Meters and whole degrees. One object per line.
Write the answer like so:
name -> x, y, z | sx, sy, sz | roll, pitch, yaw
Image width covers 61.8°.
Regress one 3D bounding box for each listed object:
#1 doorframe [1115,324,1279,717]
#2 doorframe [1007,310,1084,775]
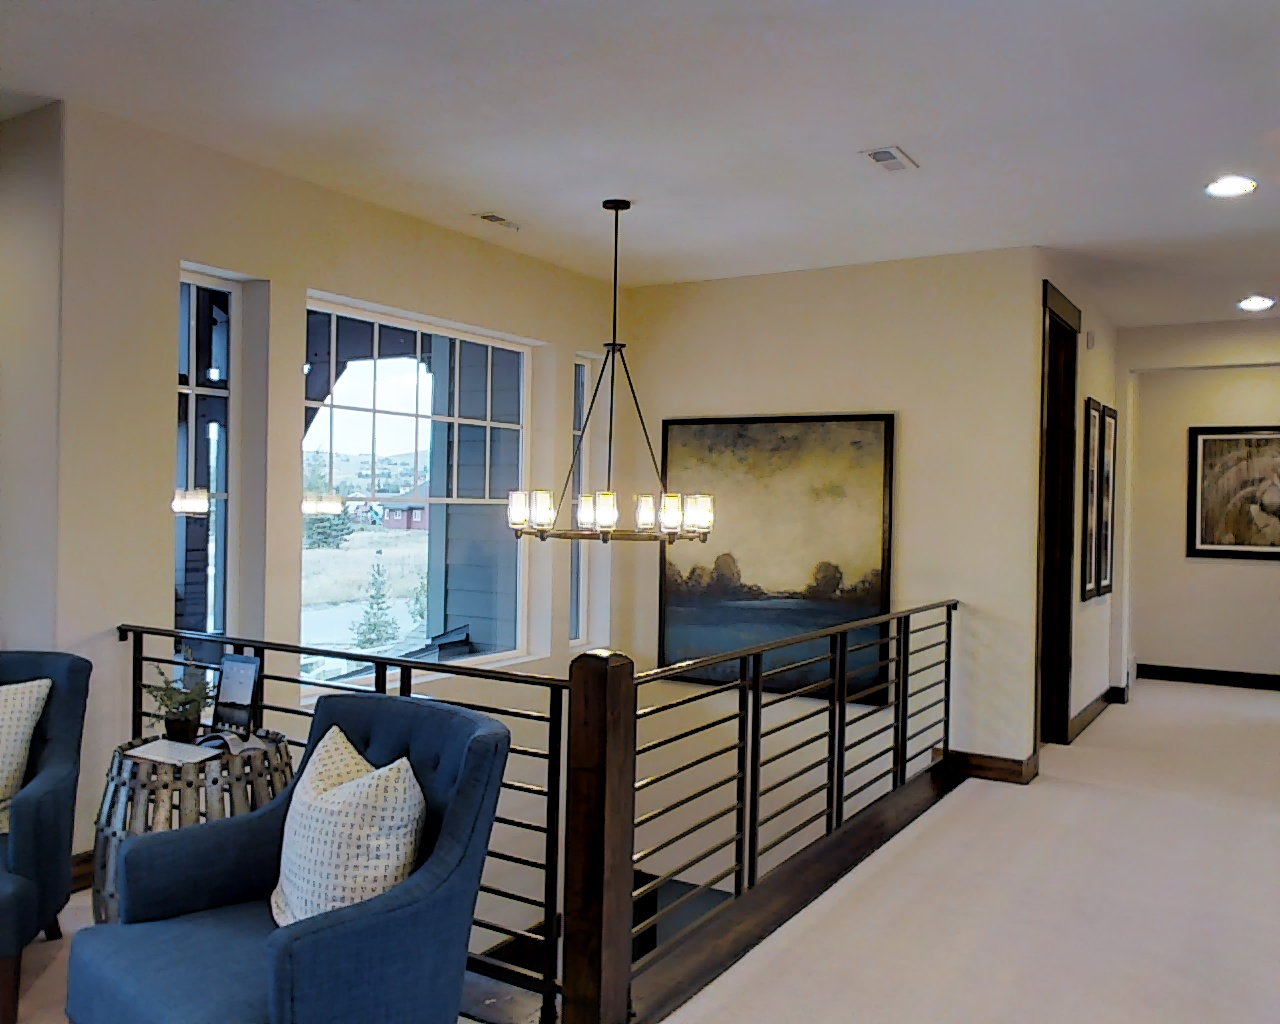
doorframe -> 4.630, 0.060, 7.960 | 1.800, 2.710, 1.220 | 1, 1, 32
doorframe -> 2.290, 0.160, 6.010 | 0.180, 2.430, 0.890 | 1, 1, 32
